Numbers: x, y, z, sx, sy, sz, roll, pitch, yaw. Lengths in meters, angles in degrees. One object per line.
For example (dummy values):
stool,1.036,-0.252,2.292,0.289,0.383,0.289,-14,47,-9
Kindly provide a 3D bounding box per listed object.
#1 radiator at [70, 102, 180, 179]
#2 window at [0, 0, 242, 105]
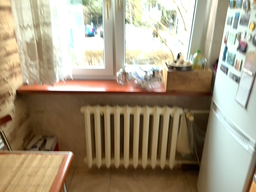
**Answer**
radiator,-0.030,0.400,1.920,0.870,0.630,0.260,0,23,-4
window,-0.060,-0.740,1.470,1.600,1.620,0.300,1,23,-2
